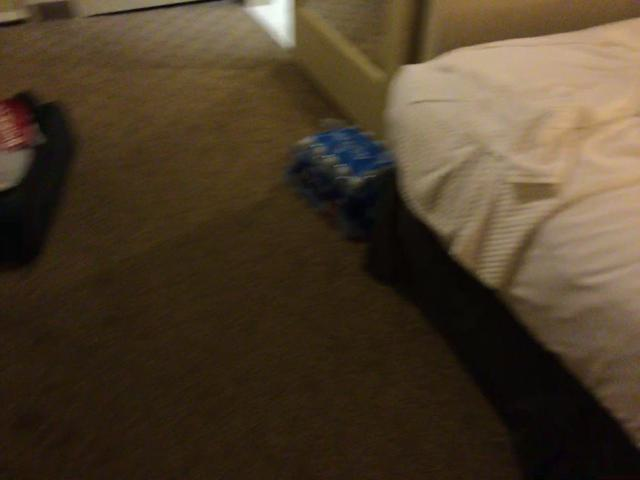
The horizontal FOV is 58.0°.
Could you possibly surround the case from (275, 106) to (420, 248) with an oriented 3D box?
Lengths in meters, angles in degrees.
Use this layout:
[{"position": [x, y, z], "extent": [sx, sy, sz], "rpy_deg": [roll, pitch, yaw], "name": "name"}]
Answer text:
[{"position": [0.070, -0.220, 1.870], "extent": [0.290, 0.220, 0.430], "rpy_deg": [-15, 42, -19], "name": "case"}]
